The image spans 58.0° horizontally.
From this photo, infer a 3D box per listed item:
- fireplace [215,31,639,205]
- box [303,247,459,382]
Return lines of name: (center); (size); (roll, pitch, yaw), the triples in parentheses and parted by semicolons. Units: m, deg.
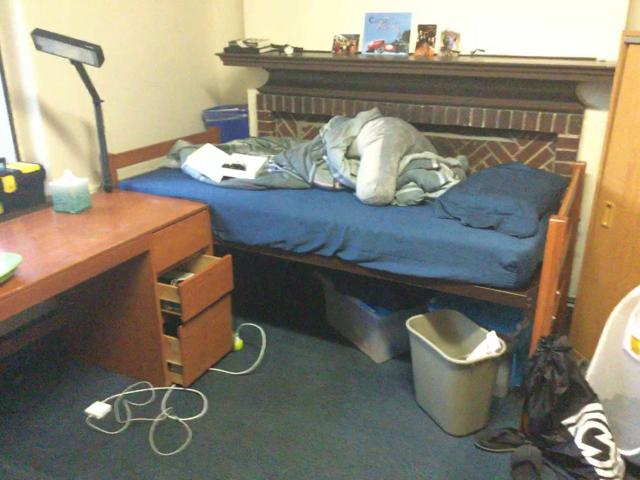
fireplace: (0.390, -0.650, 2.830); (2.010, 0.670, 0.250); (10, 23, 27)
box: (0.280, 0.330, 2.850); (0.450, 0.340, 0.640); (-13, 23, -30)
